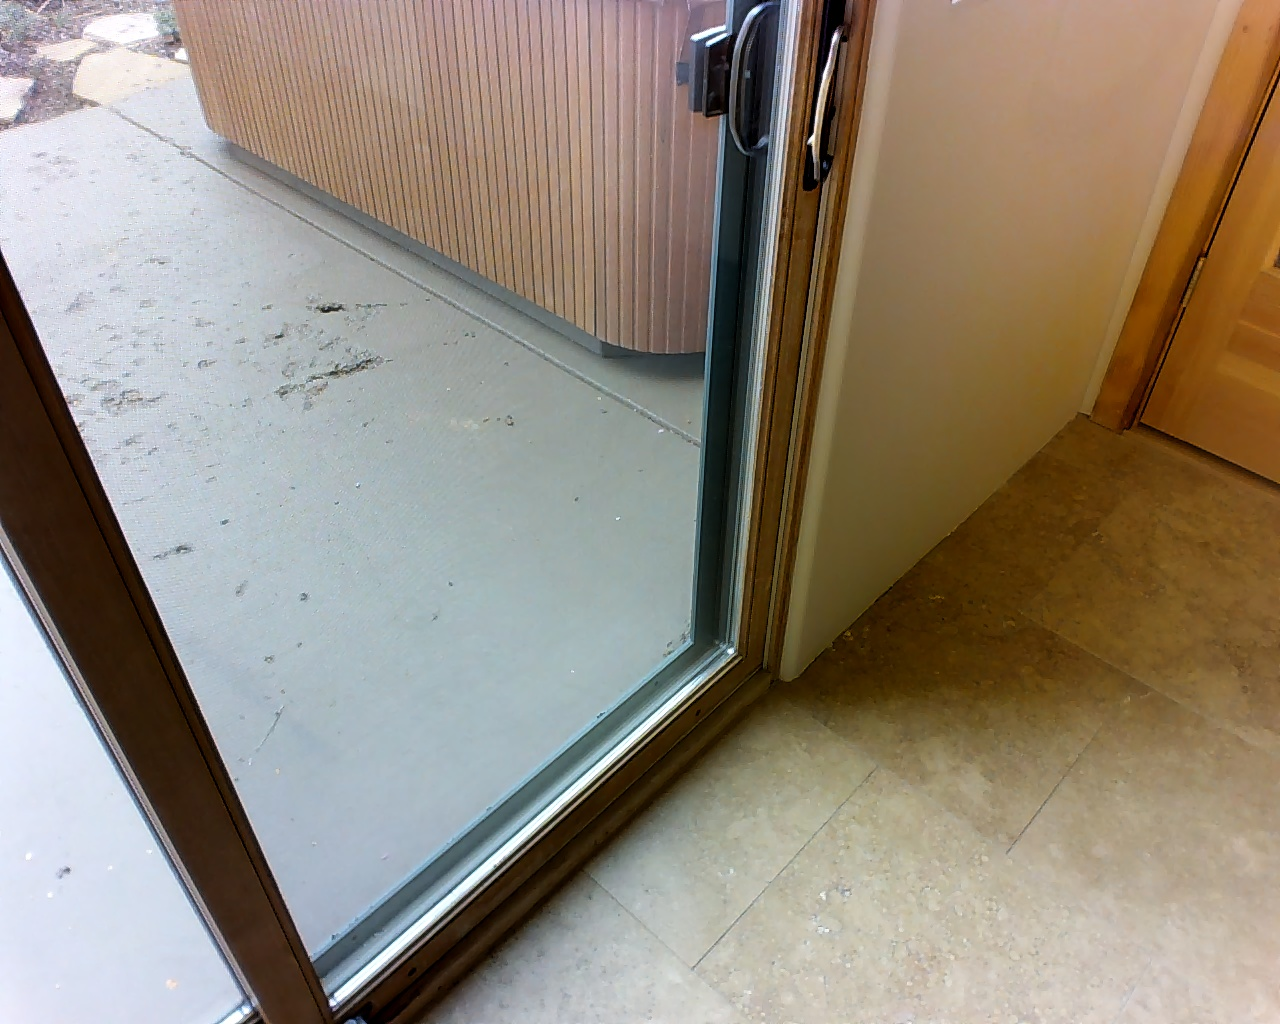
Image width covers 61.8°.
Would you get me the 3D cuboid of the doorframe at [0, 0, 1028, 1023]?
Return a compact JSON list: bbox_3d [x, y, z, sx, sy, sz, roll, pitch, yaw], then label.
[{"bbox_3d":[-0.350,-0.110,0.690,0.210,2.130,1.980,33,51,31],"label":"doorframe"}]
